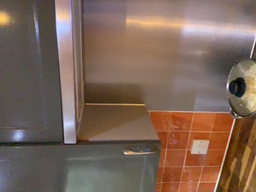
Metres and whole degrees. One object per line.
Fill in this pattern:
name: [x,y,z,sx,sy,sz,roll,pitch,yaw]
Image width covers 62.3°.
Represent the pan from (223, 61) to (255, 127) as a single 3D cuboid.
pan: [0.510,-0.010,0.810,0.260,0.120,0.200,-109,21,-71]
